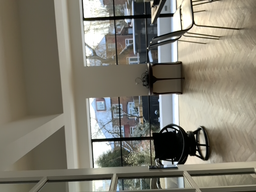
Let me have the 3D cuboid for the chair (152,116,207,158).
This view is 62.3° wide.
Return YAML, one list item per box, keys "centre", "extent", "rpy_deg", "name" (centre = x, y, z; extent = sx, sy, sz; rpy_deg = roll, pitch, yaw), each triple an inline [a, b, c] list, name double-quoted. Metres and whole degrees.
- centre: [0.830, 0.730, 3.640]
  extent: [0.690, 0.730, 0.610]
  rpy_deg: [88, 180, -72]
  name: "chair"
